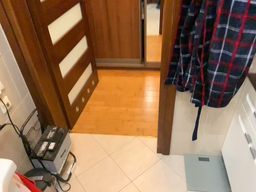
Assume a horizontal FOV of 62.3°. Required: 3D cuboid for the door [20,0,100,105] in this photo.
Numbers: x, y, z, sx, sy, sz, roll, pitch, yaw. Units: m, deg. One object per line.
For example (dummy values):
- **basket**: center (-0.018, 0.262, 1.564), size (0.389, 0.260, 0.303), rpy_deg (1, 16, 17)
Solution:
- **door**: center (-0.510, -0.990, 1.670), size (0.130, 1.710, 1.250), rpy_deg (2, 39, 5)
